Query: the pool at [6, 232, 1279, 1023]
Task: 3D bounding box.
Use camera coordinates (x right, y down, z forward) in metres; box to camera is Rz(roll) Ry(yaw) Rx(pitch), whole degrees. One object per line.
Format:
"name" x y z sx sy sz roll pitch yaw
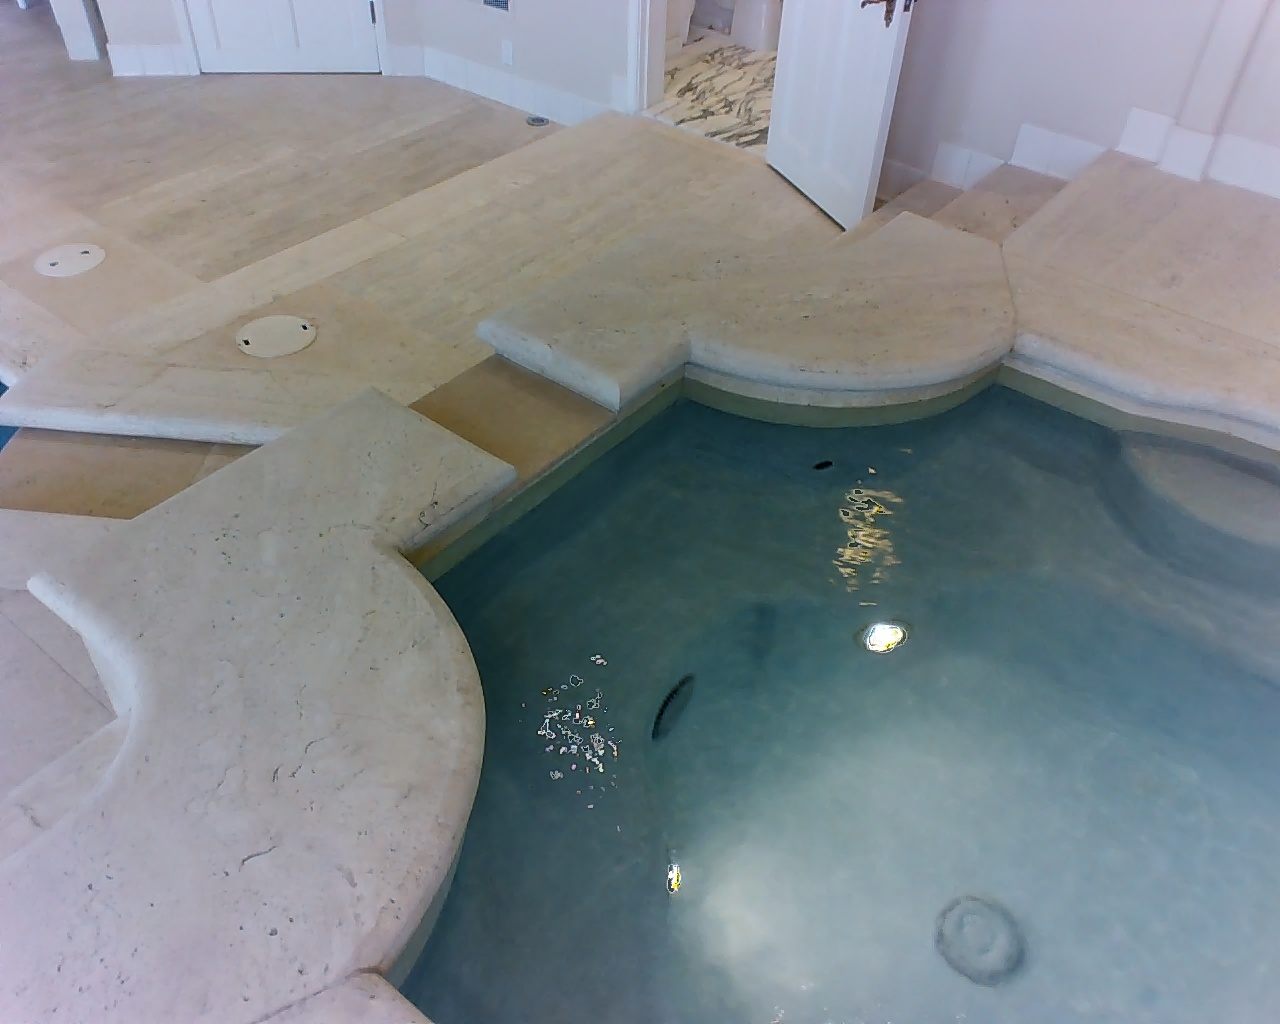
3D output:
"pool" 0.820 0.480 1.920 2.650 0.320 2.480 28 47 26
